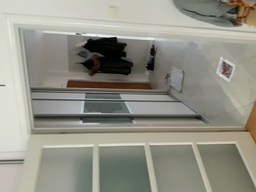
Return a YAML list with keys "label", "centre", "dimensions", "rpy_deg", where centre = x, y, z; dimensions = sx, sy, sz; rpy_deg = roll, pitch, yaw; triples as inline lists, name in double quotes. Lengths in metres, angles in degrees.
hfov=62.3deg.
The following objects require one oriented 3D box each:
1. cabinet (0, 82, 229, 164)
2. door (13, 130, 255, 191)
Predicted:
- label: "cabinet"
  centre: [-0.370, 0.200, 3.240]
  dimensions: [2.370, 2.560, 0.310]
  rpy_deg: [-125, 37, -72]
- label: "door"
  centre: [0.270, 0.650, 1.640]
  dimensions: [0.790, 2.080, 0.160]
  rpy_deg: [-99, 15, -44]
